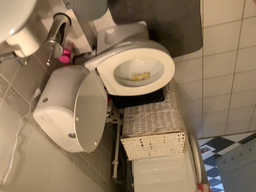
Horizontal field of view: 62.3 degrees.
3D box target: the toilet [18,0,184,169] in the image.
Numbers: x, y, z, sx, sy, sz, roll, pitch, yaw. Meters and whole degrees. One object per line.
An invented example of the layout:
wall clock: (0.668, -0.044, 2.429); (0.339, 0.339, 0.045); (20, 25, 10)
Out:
toilet: (-0.100, -0.100, 1.240); (0.650, 0.830, 0.410); (-11, 138, 11)
